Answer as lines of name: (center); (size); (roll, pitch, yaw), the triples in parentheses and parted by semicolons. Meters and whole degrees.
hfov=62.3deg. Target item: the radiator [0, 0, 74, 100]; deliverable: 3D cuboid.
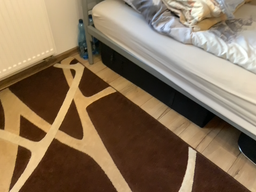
radiator: (-0.850, -0.290, 1.180); (0.190, 0.710, 1.070); (37, 55, 27)
